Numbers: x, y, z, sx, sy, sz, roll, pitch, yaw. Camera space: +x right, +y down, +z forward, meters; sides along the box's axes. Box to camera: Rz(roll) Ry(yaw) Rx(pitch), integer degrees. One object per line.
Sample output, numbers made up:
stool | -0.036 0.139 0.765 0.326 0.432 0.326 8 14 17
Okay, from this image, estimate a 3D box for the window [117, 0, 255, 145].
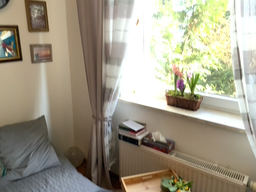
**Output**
window | 0.440 -0.620 1.620 1.080 1.720 0.290 13 21 33
